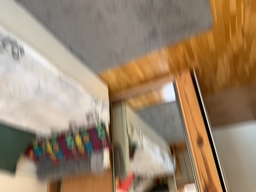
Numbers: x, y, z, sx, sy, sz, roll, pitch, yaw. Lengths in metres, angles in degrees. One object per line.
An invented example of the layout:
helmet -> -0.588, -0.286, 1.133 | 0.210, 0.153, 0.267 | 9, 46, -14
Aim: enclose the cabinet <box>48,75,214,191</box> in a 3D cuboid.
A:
cabinet -> 0.040, 1.240, 2.120 | 1.610, 2.540, 0.680 | -18, 148, 19
